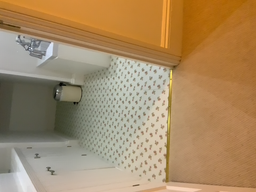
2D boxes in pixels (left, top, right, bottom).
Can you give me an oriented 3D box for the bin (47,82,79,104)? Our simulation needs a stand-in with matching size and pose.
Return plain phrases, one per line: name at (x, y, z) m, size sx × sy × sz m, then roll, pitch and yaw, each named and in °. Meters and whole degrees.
bin at (-0.800, -0.030, 2.630) m, size 0.200 × 0.320 × 0.230 m, roll -9°, pitch 77°, yaw 55°
